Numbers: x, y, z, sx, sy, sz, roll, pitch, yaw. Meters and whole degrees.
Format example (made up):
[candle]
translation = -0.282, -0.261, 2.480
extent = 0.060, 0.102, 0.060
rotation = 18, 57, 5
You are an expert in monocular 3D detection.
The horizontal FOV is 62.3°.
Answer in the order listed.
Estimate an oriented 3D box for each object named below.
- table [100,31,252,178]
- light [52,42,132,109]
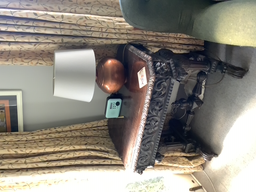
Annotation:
[table]
translation = 0.260, 0.000, 1.650
extent = 0.740, 0.700, 0.800
rotation = -132, 45, -55
[light]
translation = -0.240, -0.130, 1.330
extent = 0.220, 0.430, 0.330
rotation = -131, 45, -55
